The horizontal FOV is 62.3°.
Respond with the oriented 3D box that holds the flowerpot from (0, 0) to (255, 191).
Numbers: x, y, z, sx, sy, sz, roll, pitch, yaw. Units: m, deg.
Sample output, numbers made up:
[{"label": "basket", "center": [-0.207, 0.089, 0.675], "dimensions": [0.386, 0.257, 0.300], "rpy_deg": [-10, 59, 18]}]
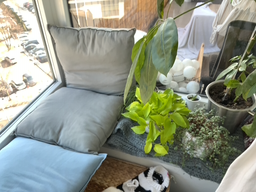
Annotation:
[{"label": "flowerpot", "center": [0.040, 0.300, 0.790], "dimensions": [0.440, 1.170, 0.540], "rpy_deg": [8, 39, 10]}]
